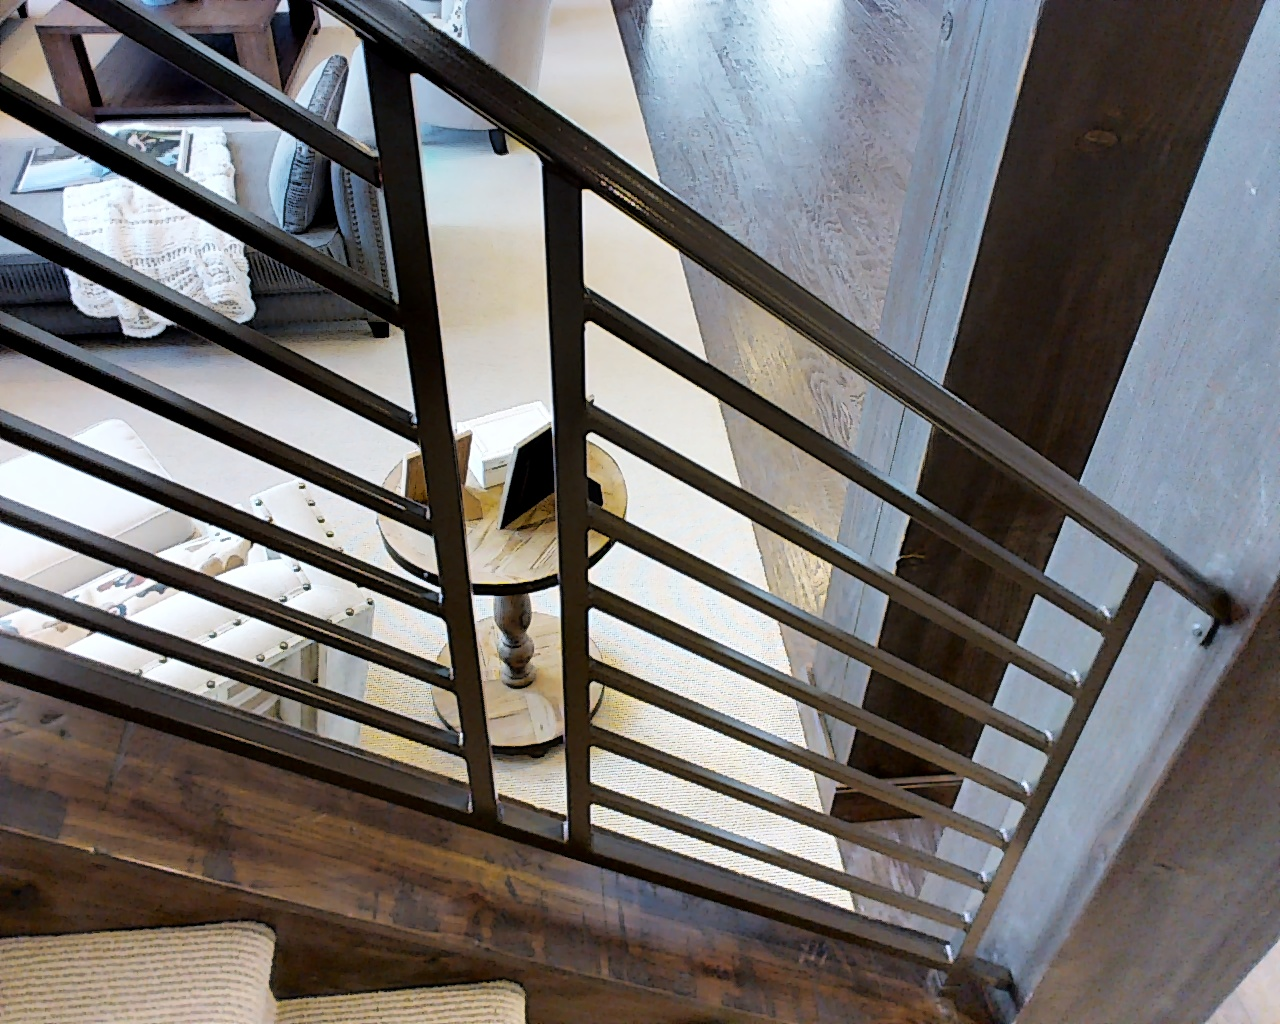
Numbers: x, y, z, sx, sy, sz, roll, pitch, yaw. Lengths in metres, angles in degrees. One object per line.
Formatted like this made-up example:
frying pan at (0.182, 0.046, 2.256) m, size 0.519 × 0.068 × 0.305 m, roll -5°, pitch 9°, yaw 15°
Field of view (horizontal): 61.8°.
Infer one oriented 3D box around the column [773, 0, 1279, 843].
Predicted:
column at (0.600, -0.410, 1.710) m, size 0.420 × 2.680 × 0.420 m, roll -3°, pitch 42°, yaw -6°
